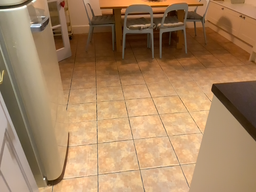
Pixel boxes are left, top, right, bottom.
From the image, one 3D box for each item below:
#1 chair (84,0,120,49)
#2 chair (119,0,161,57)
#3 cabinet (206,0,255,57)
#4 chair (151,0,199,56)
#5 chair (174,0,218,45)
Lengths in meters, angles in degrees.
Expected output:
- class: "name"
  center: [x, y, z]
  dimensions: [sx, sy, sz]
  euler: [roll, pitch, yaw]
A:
- class: "chair"
  center: [-0.430, -1.310, 3.640]
  dimensions: [0.530, 0.820, 0.560]
  euler: [-2, 34, -5]
- class: "chair"
  center: [0.150, -1.110, 3.360]
  dimensions: [0.560, 0.820, 0.510]
  euler: [-2, 34, -4]
- class: "cabinet"
  center: [2.090, -1.370, 3.890]
  dimensions: [0.460, 0.630, 1.770]
  euler: [-4, 34, -6]
- class: "chair"
  center: [0.720, -1.140, 3.420]
  dimensions: [0.500, 0.820, 0.470]
  euler: [-10, 35, -15]
- class: "chair"
  center: [1.200, -1.430, 3.840]
  dimensions: [0.510, 0.840, 0.510]
  euler: [-2, 34, -5]
